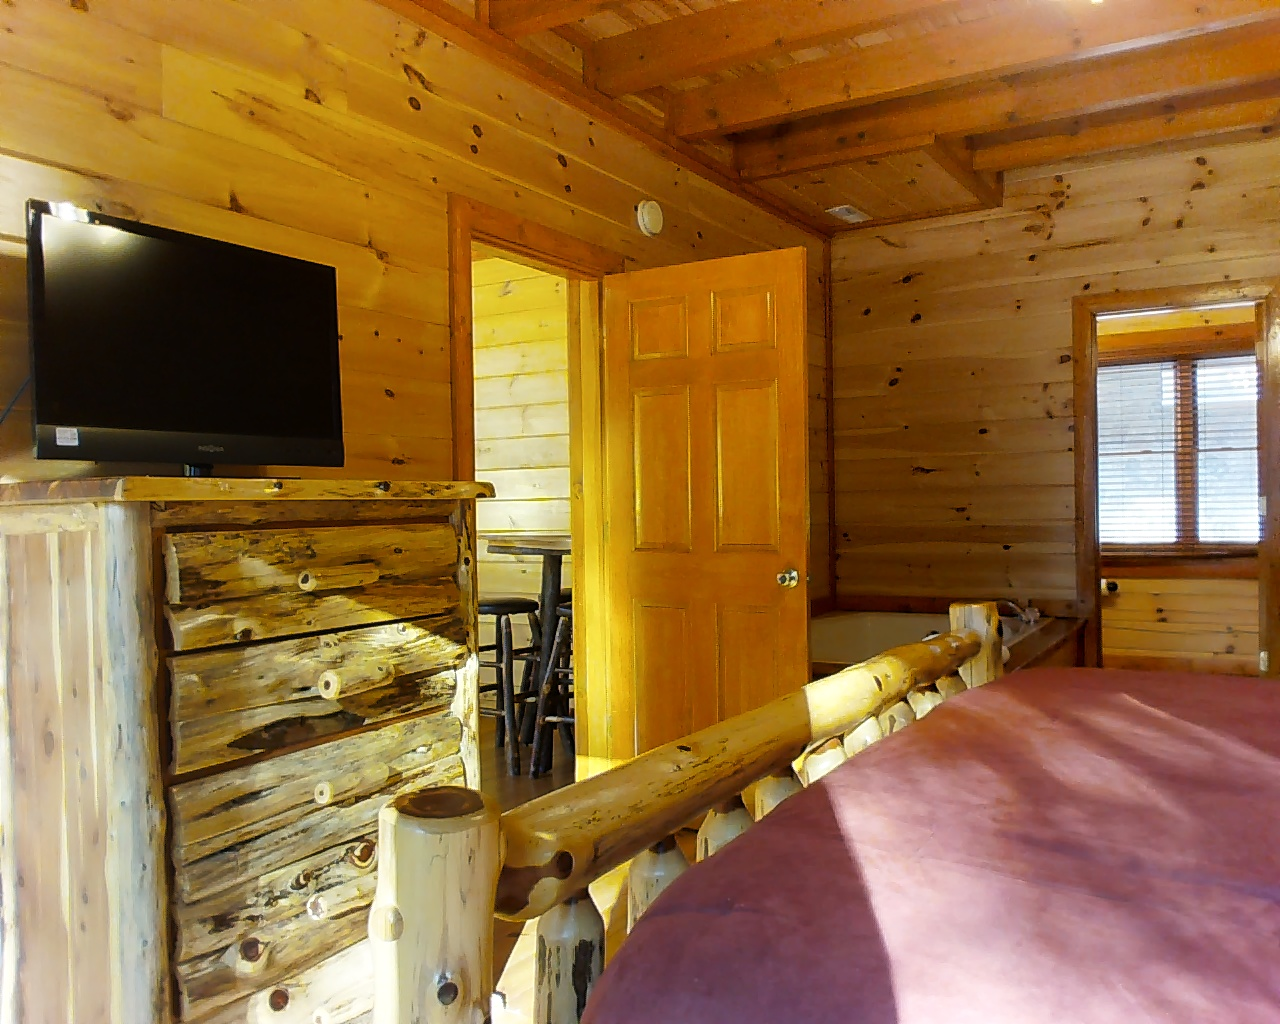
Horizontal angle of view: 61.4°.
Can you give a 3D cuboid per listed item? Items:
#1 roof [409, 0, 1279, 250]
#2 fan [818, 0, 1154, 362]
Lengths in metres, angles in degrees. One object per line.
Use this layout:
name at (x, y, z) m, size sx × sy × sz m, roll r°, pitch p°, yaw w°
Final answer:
roof at (1.989, -1.761, 4.190) m, size 4.149 × 0.160 × 3.830 m, roll -1°, pitch 0°, yaw 31°
fan at (1.440, -1.380, 4.560) m, size 1.270 × 1.360 × 0.300 m, roll -1°, pitch 4°, yaw 31°
